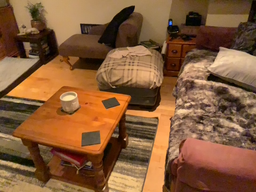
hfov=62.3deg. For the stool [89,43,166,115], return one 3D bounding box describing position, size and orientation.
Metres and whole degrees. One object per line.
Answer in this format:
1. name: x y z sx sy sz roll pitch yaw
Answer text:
1. stool: 0.040 -0.220 2.280 0.660 0.470 0.660 5 35 12
